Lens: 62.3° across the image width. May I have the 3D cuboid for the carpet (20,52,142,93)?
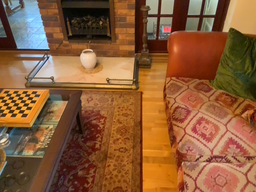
[{"bbox_3d":[-0.530,-0.330,2.750,1.390,0.140,0.760,1,38,0],"label":"carpet"}]
